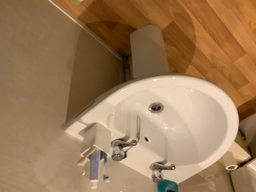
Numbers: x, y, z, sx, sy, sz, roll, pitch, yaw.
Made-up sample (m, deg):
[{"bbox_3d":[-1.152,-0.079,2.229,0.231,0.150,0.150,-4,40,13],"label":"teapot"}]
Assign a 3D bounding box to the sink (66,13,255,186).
[{"bbox_3d":[0.140,0.070,0.810,0.440,0.210,0.540,-38,121,26],"label":"sink"}]
